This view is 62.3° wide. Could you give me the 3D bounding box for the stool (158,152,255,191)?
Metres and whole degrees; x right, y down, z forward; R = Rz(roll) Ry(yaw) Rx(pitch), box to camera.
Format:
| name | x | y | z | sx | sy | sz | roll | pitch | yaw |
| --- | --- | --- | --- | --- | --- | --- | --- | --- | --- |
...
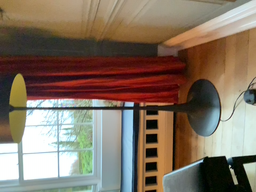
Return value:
| name | x | y | z | sx | sy | sz | roll | pitch | yaw |
| --- | --- | --- | --- | --- | --- | --- | --- | --- | --- |
| stool | 0.530 | 0.550 | 1.210 | 0.500 | 0.520 | 0.340 | 117 | 150 | -60 |
